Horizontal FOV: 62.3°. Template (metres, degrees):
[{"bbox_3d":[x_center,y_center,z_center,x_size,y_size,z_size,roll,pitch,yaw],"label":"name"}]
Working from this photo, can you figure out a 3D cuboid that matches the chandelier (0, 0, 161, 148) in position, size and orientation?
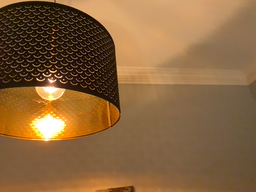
[{"bbox_3d":[-0.350,-0.350,1.150,0.740,1.030,0.730,-5,155,-6],"label":"chandelier"}]
